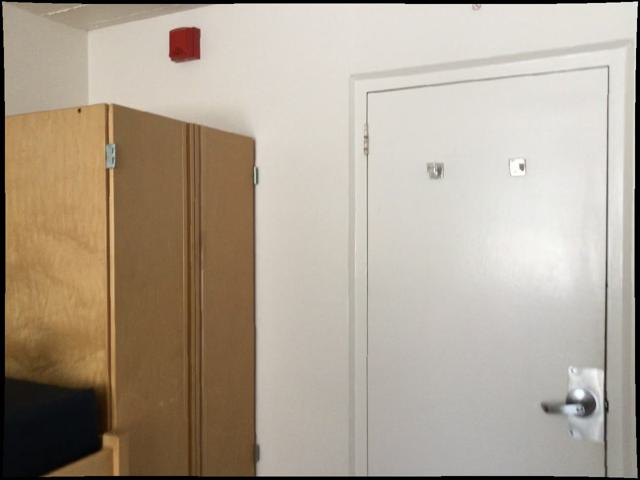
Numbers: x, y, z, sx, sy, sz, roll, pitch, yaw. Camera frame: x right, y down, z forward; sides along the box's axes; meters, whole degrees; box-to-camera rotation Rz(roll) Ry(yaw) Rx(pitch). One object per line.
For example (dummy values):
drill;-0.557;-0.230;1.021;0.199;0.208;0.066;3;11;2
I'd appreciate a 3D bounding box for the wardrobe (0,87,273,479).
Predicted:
wardrobe;-0.819;0.490;2.170;0.999;1.852;0.810;2;3;27

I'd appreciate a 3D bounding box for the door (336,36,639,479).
door;0.509;0.420;1.960;0.959;2.042;0.090;2;3;27
